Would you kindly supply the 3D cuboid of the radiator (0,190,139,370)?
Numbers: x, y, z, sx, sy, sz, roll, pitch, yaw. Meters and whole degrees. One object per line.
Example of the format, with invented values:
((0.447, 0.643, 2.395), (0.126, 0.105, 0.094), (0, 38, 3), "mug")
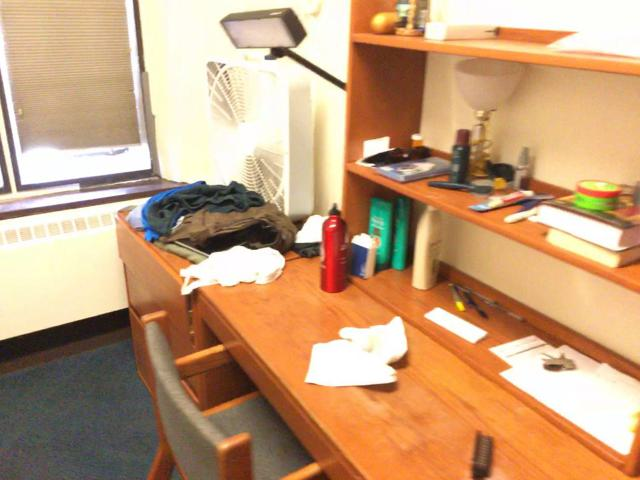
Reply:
((-1.190, 0.180, 2.190), (0.900, 0.600, 0.150), (-12, 25, -29), "radiator")
